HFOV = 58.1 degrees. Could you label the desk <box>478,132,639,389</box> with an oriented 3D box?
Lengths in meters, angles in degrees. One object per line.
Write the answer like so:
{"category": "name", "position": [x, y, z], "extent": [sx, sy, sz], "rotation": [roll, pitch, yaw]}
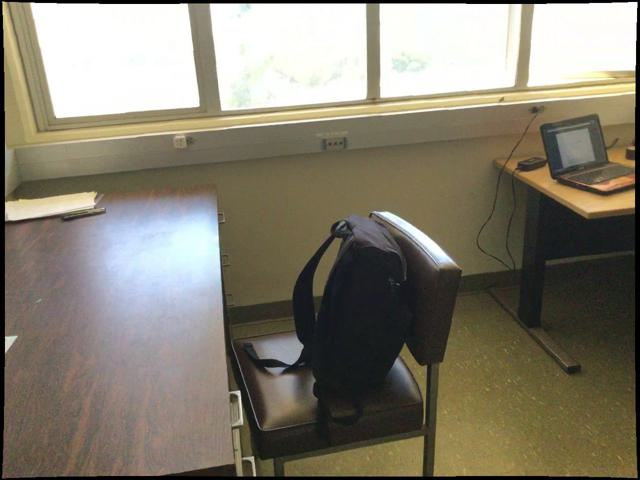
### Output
{"category": "desk", "position": [1.327, 0.010, 2.460], "extent": [0.978, 0.732, 0.810], "rotation": [-7, 23, -8]}
